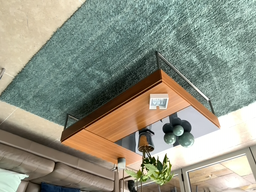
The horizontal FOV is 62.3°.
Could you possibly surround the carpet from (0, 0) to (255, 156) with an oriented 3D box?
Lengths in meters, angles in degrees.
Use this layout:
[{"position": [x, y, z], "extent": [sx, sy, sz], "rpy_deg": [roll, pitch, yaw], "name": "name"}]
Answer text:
[{"position": [0.270, -0.120, 1.800], "extent": [2.470, 0.060, 1.690], "rpy_deg": [-29, 133, 30], "name": "carpet"}]
